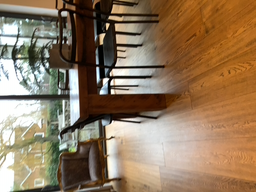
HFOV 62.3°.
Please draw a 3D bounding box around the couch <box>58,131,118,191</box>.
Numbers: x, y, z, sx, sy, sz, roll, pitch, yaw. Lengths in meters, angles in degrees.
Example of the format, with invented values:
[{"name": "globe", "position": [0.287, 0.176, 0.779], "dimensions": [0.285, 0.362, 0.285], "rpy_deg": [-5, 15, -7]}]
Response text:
[{"name": "couch", "position": [-0.710, 1.100, 3.530], "dimensions": [0.680, 0.820, 0.740], "rpy_deg": [118, 146, -52]}]
